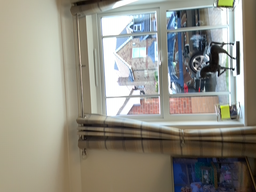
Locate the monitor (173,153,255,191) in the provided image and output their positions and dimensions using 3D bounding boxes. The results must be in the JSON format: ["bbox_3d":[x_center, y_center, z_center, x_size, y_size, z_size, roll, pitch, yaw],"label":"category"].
[{"bbox_3d":[0.700,0.920,1.510,1.120,0.680,0.050,-83,-13,-45],"label":"monitor"}]

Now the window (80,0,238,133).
[{"bbox_3d":[0.290,-0.340,2.120,0.300,1.410,1.350,-33,-60,-79],"label":"window"}]
